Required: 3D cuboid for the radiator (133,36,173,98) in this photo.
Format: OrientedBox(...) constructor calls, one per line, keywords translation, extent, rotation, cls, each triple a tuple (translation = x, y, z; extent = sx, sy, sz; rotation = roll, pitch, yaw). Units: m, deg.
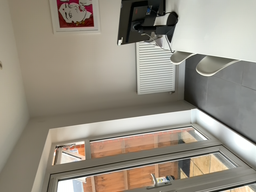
OrientedBox(translation=(0.370, -0.430, 3.140), extent=(0.150, 0.550, 0.860), rotation=(-127, 33, -68), cls="radiator")
